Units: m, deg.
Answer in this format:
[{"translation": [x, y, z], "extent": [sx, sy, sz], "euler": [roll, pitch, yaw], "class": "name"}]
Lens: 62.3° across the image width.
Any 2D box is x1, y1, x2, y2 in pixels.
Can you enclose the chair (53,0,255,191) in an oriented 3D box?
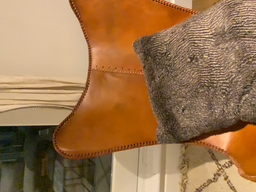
[{"translation": [0.260, -0.110, 0.900], "extent": [0.780, 0.900, 0.770], "euler": [-3, 84, 57], "class": "chair"}]
